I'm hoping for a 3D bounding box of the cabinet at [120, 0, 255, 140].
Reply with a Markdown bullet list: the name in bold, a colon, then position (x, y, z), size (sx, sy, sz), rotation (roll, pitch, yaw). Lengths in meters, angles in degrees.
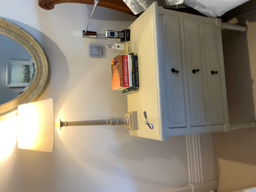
- **cabinet**: position (0.430, -0.140, 1.470), size (0.530, 0.800, 0.750), rotation (168, 100, -66)
